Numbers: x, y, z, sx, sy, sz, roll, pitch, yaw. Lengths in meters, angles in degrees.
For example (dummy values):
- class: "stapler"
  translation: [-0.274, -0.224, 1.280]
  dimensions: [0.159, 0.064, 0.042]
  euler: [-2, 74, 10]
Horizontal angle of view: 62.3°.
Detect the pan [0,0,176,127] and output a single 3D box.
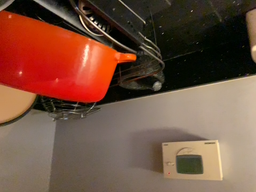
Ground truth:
- class: "pan"
  translation: [-0.220, -0.090, 0.630]
  dimensions: [0.570, 0.270, 0.440]
  euler: [-11, 161, 33]
